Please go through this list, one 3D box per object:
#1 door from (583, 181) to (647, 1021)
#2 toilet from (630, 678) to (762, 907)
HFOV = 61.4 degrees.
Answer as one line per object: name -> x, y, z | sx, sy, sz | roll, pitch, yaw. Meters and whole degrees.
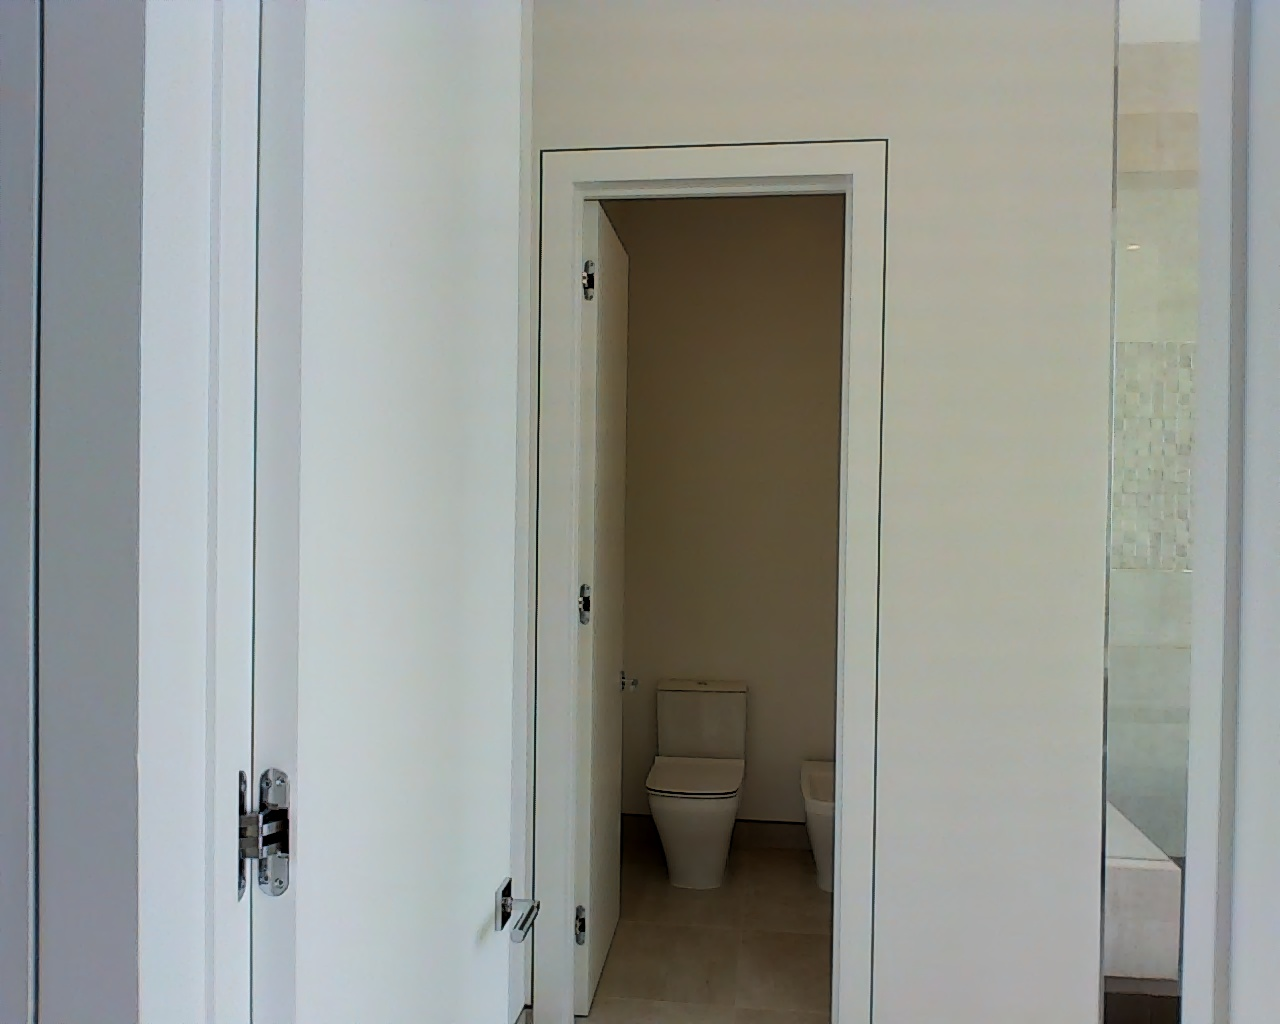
door -> -0.070, 0.260, 3.560 | 0.070, 2.450, 0.840 | 0, 0, 7
toilet -> 0.250, 1.110, 4.420 | 0.480, 0.730, 0.720 | 0, 0, 7
